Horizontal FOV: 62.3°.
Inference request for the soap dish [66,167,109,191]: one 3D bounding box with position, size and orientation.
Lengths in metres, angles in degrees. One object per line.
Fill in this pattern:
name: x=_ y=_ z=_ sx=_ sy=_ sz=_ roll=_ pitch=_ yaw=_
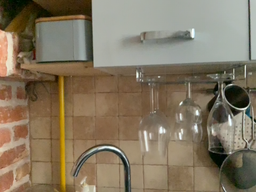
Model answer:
soap dish: x=-0.160 y=0.390 z=0.860 sx=0.140 sy=0.160 sz=0.110 roll=0 pitch=1 yaw=8
